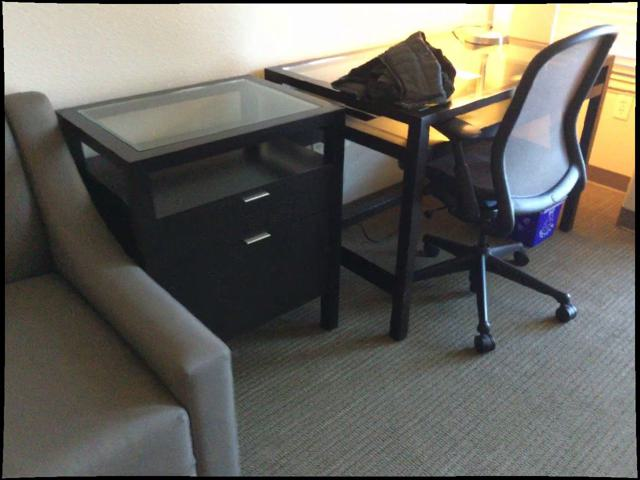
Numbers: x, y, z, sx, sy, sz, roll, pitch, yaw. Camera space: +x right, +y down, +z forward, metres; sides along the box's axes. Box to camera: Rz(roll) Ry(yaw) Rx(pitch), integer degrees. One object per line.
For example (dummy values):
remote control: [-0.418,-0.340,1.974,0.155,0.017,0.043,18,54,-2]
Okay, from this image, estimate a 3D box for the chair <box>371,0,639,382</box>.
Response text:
chair: [0.618,-0.201,1.940,0.639,1.022,0.550,-25,40,-35]

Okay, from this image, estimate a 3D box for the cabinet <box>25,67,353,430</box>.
cabinet: [-0.369,-0.030,1.860,0.729,0.802,0.580,-25,40,-35]

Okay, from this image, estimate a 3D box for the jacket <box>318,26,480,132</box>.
jacket: [0.239,-0.521,1.810,0.340,0.190,0.360,-25,40,-35]
